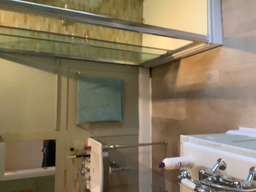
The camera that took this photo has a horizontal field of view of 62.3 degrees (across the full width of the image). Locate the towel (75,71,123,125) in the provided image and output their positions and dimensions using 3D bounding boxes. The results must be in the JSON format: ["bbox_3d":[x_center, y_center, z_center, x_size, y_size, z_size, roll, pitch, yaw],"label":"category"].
[{"bbox_3d":[-0.330,0.030,2.520,0.060,0.570,0.610,171,100,-64],"label":"towel"}]
